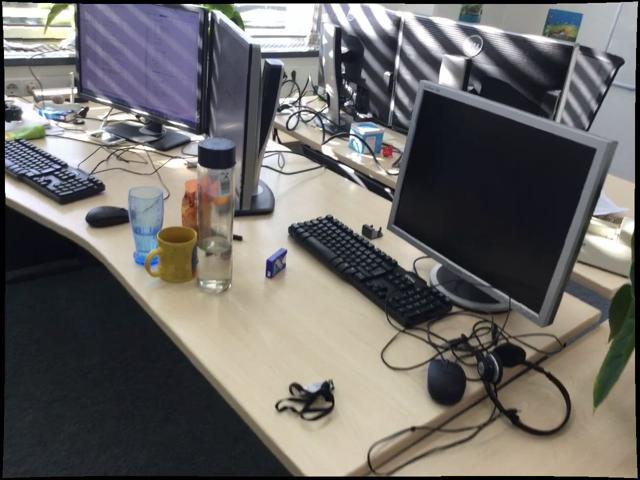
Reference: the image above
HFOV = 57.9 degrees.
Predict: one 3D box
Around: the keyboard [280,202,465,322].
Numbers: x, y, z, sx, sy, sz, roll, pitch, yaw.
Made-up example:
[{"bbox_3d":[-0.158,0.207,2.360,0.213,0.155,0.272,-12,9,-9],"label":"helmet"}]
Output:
[{"bbox_3d":[0.100,0.030,1.300,0.150,0.030,0.450,-16,36,-35],"label":"keyboard"}]
